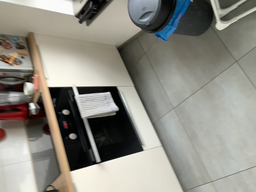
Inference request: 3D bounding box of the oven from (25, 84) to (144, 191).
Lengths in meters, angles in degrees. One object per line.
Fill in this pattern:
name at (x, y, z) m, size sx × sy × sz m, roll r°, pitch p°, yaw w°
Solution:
oven at (-0.390, 0.330, 1.730) m, size 0.620 × 0.620 × 0.590 m, roll -47°, pitch 58°, yaw 41°
